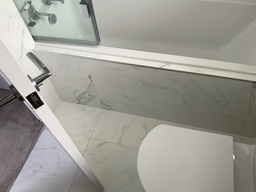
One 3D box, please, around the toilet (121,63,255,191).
[{"bbox_3d":[0.390,0.320,0.980,0.690,0.790,0.400,10,56,12],"label":"toilet"}]
